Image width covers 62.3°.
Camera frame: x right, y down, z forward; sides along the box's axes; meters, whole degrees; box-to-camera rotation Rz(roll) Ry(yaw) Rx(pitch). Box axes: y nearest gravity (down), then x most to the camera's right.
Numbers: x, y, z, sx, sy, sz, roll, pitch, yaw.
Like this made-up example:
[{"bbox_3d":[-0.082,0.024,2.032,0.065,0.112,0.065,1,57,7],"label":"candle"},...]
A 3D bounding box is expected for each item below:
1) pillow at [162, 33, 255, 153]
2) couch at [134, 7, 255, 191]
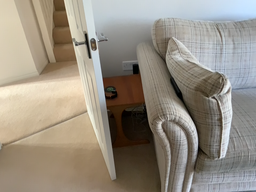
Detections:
[{"bbox_3d":[0.410,-0.070,1.240,0.210,0.390,0.660,-9,33,-7],"label":"pillow"},{"bbox_3d":[1.090,-0.030,1.480,2.030,0.900,1.040,-3,35,0],"label":"couch"}]
